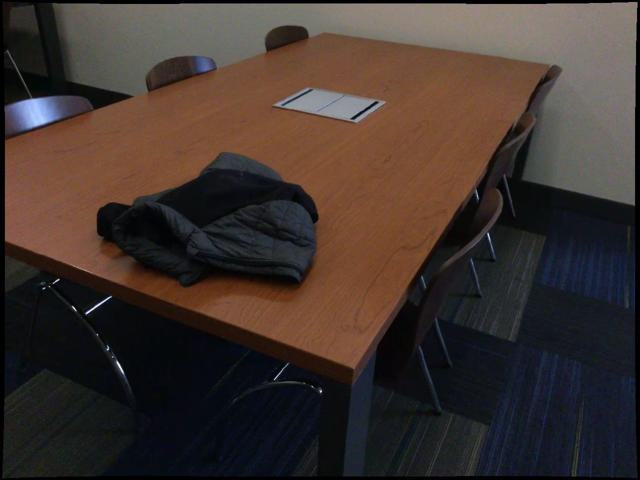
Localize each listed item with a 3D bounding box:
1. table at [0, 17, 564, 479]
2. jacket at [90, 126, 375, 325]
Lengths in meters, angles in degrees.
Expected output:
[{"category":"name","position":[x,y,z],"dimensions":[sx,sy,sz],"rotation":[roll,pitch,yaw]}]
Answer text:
[{"category":"table","position":[0.030,-0.190,2.280],"dimensions":[1.357,0.832,2.540],"rotation":[16,33,20]},{"category":"jacket","position":[-0.150,-0.070,1.220],"dimensions":[0.369,0.140,0.500],"rotation":[16,33,20]}]
